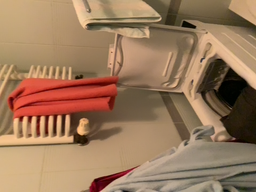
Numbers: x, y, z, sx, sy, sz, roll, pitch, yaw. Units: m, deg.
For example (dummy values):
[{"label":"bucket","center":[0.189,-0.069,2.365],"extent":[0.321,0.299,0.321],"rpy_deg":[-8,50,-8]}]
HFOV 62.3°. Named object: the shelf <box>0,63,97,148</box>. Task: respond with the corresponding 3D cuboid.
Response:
[{"label":"shelf","center":[-0.600,0.020,1.070],"extent":[0.500,0.840,0.120],"rpy_deg":[-106,22,-49]}]
